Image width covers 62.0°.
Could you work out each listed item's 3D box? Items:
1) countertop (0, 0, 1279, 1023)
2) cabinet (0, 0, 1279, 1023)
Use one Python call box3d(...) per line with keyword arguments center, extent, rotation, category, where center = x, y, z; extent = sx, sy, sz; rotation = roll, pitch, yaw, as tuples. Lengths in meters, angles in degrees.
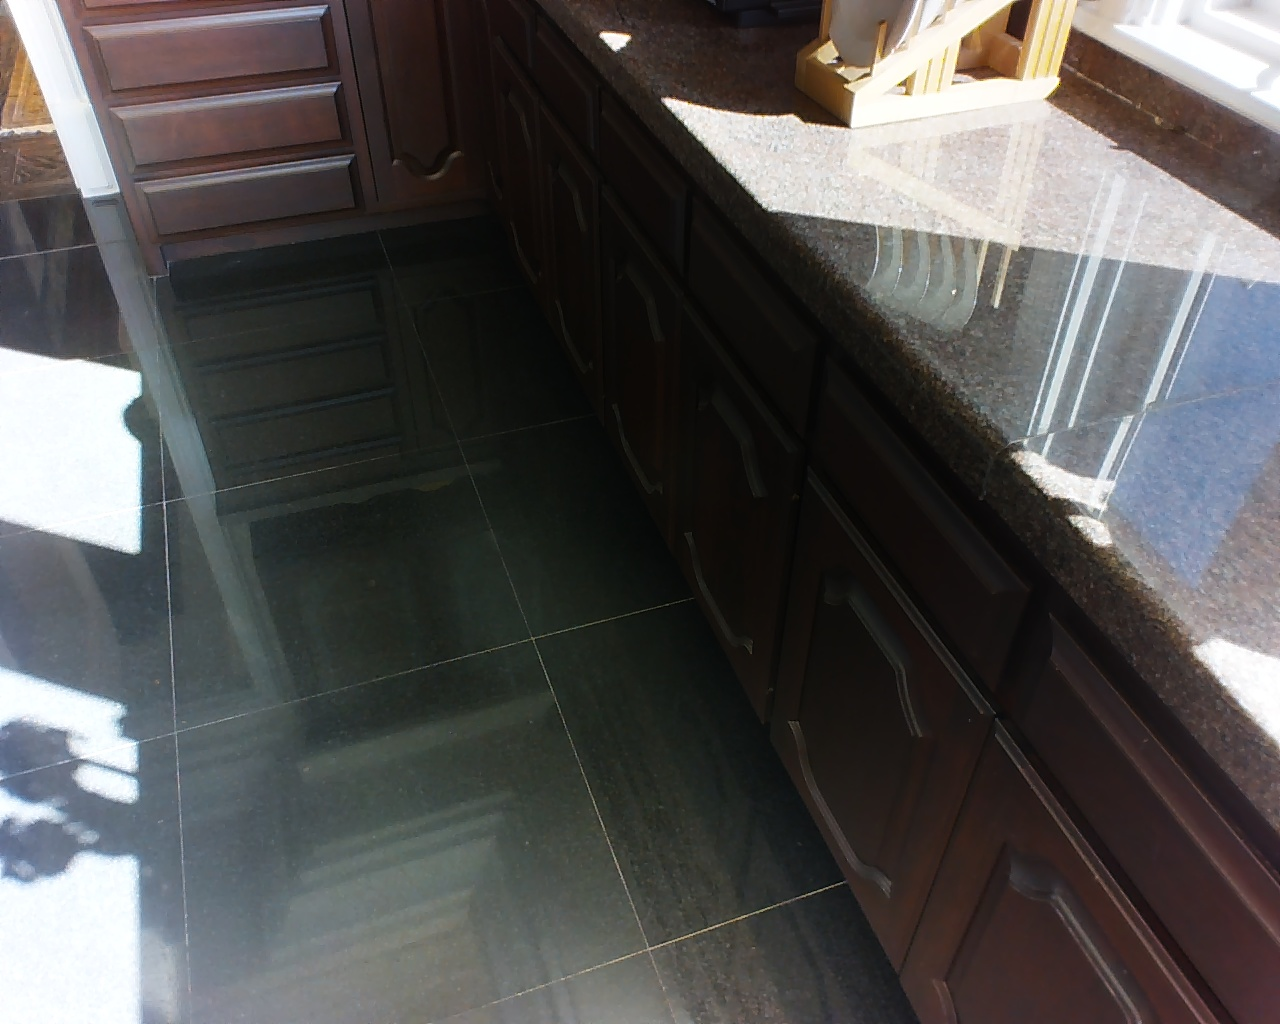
box3d(center=(0.250, 0.720, 0.660), extent=(1.750, 0.900, 6.560), rotation=(-13, 44, -15), category="countertop")
box3d(center=(-0.250, 0.150, 1.330), extent=(1.000, 0.880, 5.050), rotation=(-13, 44, -14), category="cabinet")
